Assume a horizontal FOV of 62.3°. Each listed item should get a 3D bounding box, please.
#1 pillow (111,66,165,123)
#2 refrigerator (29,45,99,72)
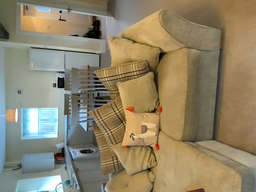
[{"bbox_3d":[0.110,-0.010,2.100,0.150,0.400,0.400,-16,45,59],"label":"pillow"},{"bbox_3d":[-1.770,-1.010,5.930,0.650,1.780,0.560,-166,79,-67],"label":"refrigerator"}]
